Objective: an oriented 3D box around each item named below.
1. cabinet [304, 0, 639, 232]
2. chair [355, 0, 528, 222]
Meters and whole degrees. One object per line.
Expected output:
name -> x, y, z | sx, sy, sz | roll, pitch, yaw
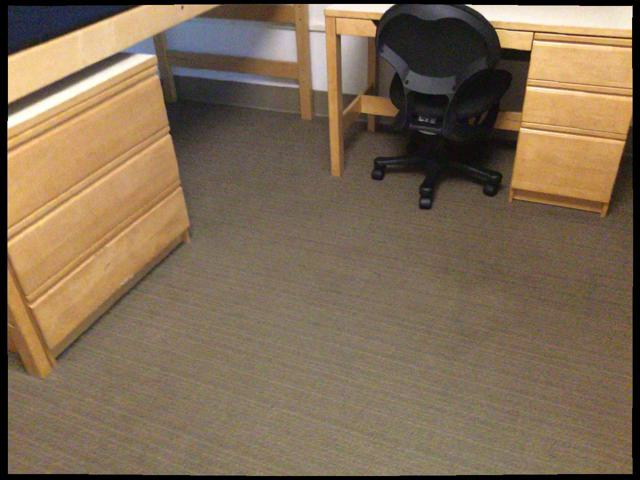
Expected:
cabinet -> 0.788, -0.681, 2.540 | 1.498, 0.801, 0.750 | 11, 37, 20
chair -> 0.509, -0.621, 2.460 | 0.569, 0.861, 0.520 | 11, 37, 19
